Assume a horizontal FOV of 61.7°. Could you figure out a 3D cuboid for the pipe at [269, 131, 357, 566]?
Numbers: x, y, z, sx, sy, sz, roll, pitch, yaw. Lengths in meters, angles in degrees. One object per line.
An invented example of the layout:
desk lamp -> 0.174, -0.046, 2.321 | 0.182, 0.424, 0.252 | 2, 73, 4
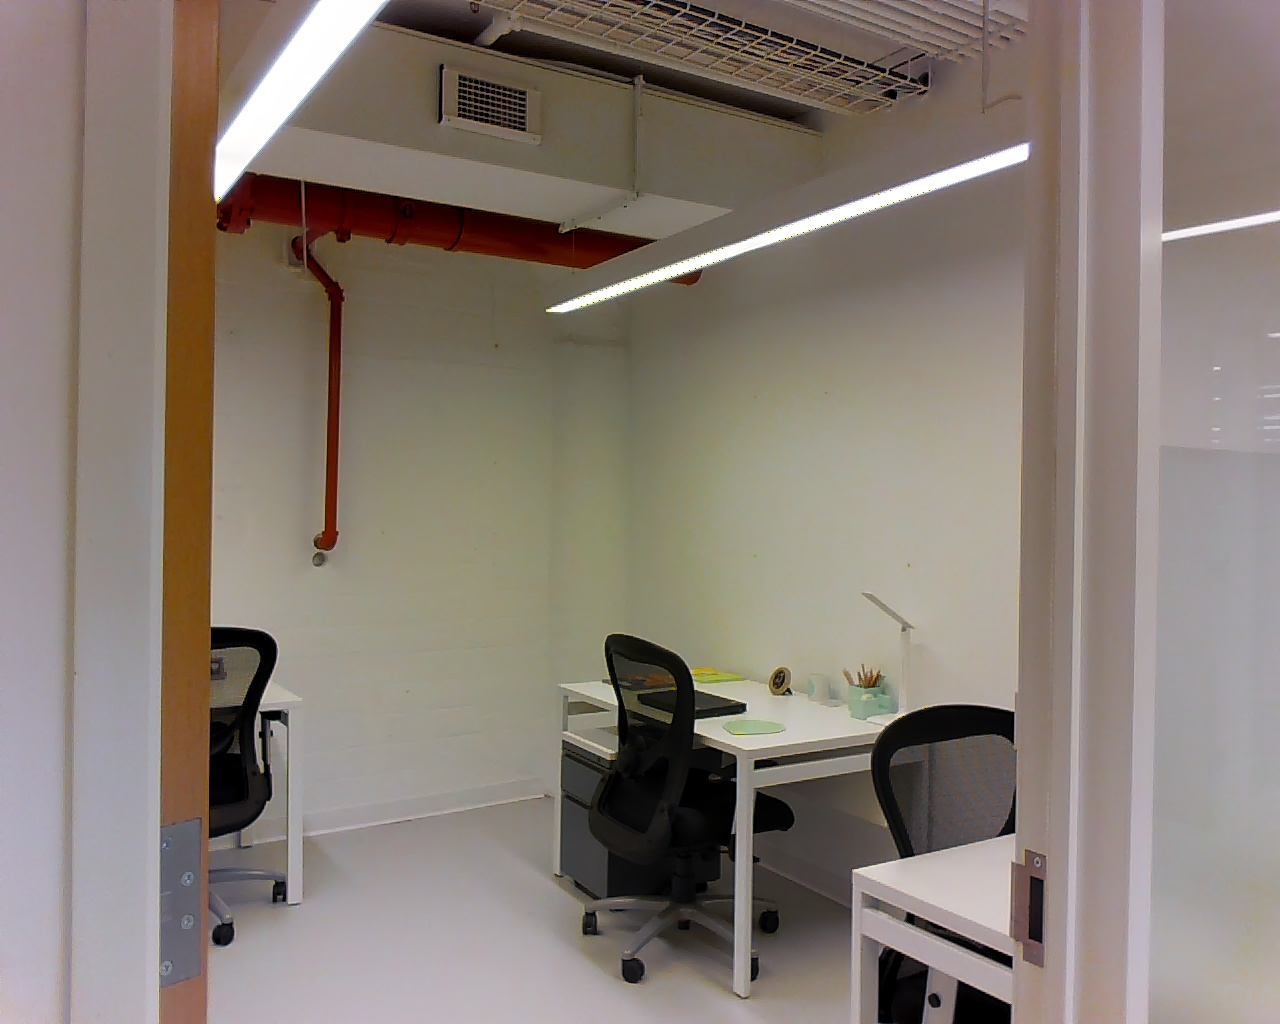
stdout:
pipe -> -1.390, -0.670, 4.550 | 0.290, 1.780, 0.210 | 1, 0, -33
